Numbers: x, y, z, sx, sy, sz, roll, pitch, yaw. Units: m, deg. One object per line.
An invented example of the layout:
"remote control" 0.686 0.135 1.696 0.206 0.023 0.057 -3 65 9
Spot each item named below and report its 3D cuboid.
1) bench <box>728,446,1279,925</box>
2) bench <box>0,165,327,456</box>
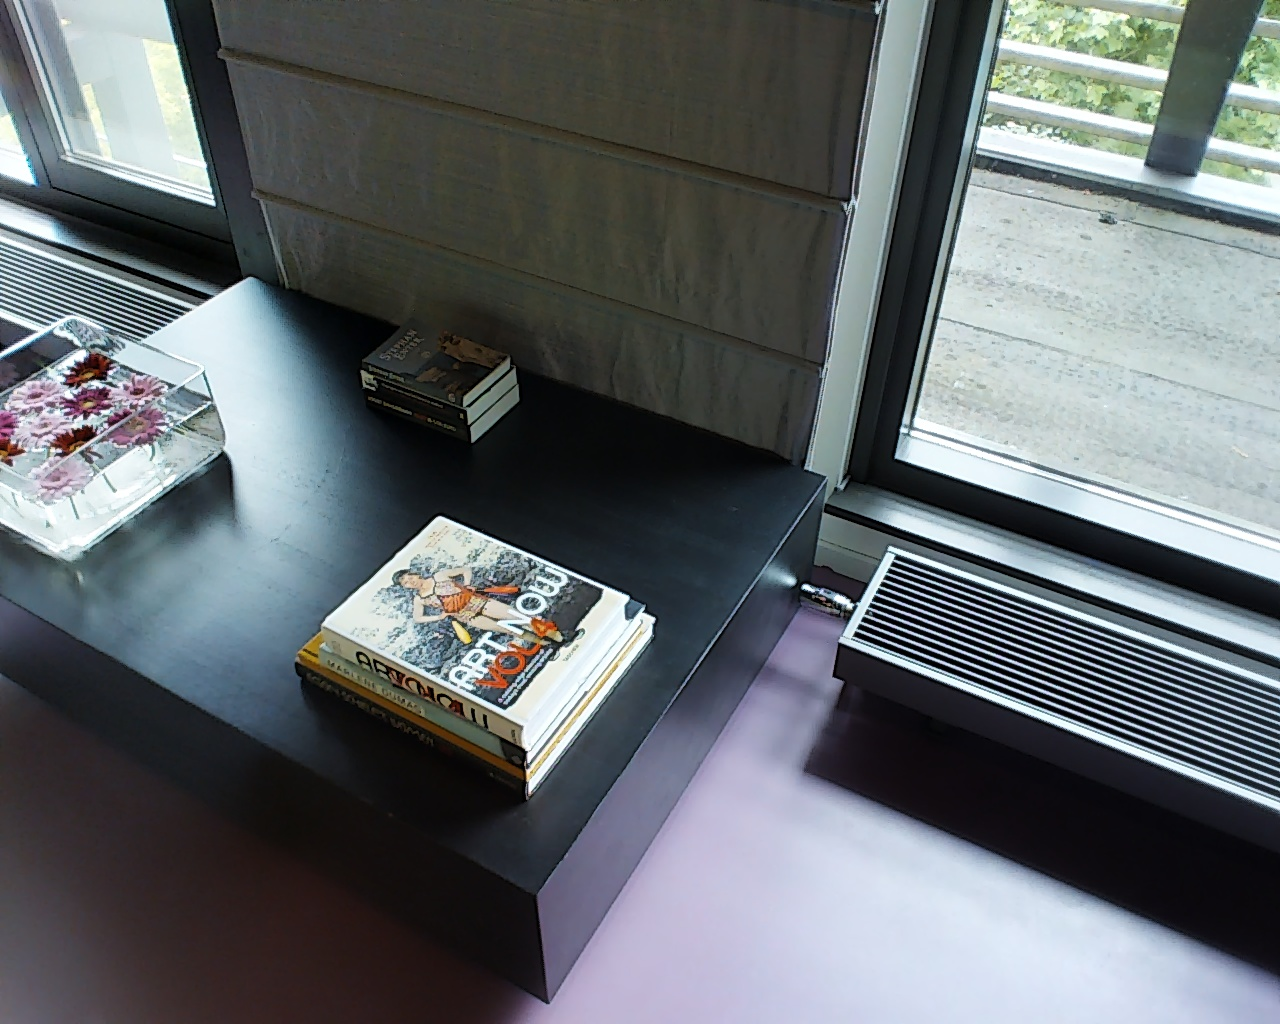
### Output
"bench" 1.060 0.390 1.460 1.860 0.210 0.420 20 45 20
"bench" -1.480 -0.570 2.460 1.560 0.230 0.410 20 45 20
